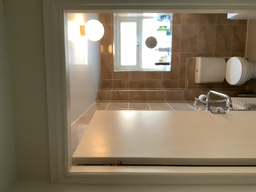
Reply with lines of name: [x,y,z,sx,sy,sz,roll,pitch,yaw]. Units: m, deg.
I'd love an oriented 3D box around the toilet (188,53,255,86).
toilet: [1.310,-0.360,2.900,0.740,0.760,0.390,-90,0,-82]

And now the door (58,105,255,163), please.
door: [0.670,0.200,1.380,0.750,2.000,0.090,-90,0,-77]

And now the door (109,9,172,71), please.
door: [0.190,-0.900,3.520,0.360,0.980,0.960,-90,0,-82]
